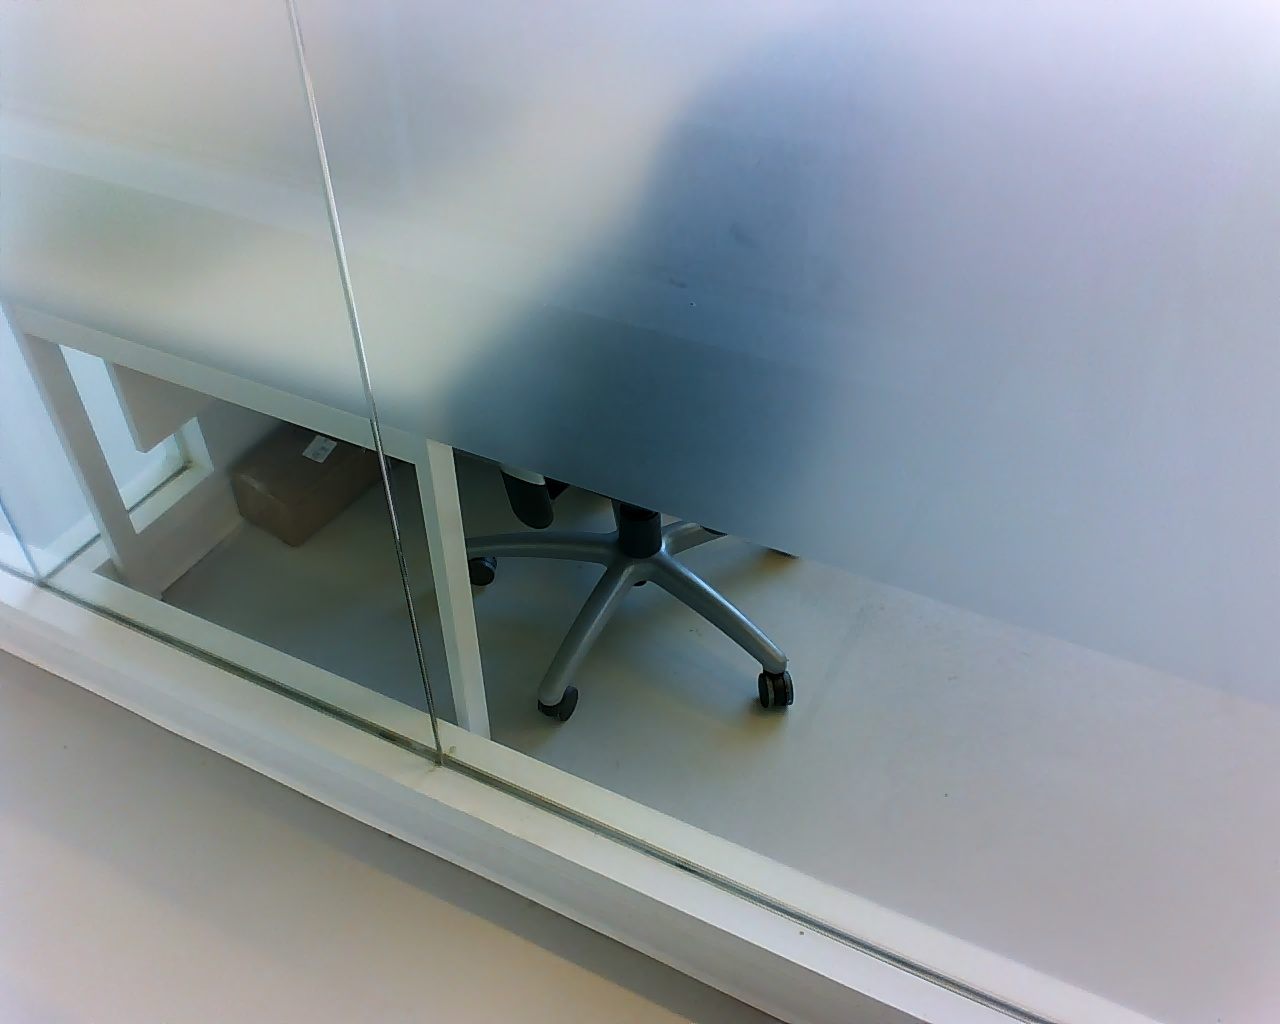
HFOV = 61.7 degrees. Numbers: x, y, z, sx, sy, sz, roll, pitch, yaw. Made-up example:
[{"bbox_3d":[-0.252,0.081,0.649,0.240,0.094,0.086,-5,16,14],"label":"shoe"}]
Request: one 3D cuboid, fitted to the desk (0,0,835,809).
[{"bbox_3d":[-0.310,-0.390,2.090,0.910,0.750,1.500,16,44,18],"label":"desk"}]
